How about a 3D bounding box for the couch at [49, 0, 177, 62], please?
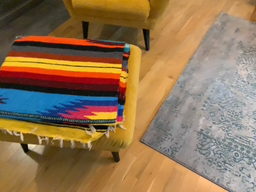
[{"bbox_3d":[-0.030,-1.040,1.610,0.860,1.070,0.970,9,55,7],"label":"couch"}]
